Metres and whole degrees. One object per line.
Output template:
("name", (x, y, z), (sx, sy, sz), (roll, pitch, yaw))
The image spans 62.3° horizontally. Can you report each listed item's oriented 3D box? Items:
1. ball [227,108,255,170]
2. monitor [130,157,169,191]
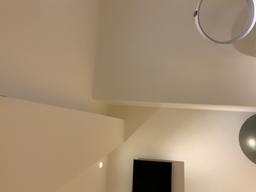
("ball", (1.650, 0.500, 2.530), (0.660, 0.670, 0.640), (57, -145, -81))
("monitor", (0.280, 1.290, 2.820), (0.050, 0.500, 0.890), (55, -142, -81))
